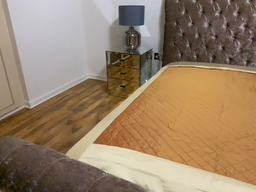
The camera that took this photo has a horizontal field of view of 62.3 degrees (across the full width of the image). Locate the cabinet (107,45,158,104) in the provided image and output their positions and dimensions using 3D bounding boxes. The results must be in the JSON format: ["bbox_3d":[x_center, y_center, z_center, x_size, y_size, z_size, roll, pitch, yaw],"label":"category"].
[{"bbox_3d":[0.070,-0.320,2.910,0.520,0.620,0.490,11,27,22],"label":"cabinet"}]
